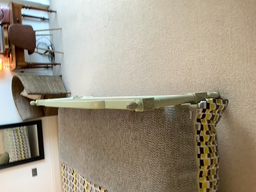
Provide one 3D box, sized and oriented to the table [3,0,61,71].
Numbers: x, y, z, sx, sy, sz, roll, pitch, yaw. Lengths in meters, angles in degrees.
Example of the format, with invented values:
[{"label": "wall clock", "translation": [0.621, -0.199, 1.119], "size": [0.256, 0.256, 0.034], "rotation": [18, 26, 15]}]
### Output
[{"label": "table", "translation": [-1.660, -0.990, 3.680], "size": [0.530, 0.740, 1.050], "rotation": [1, 95, 52]}]
